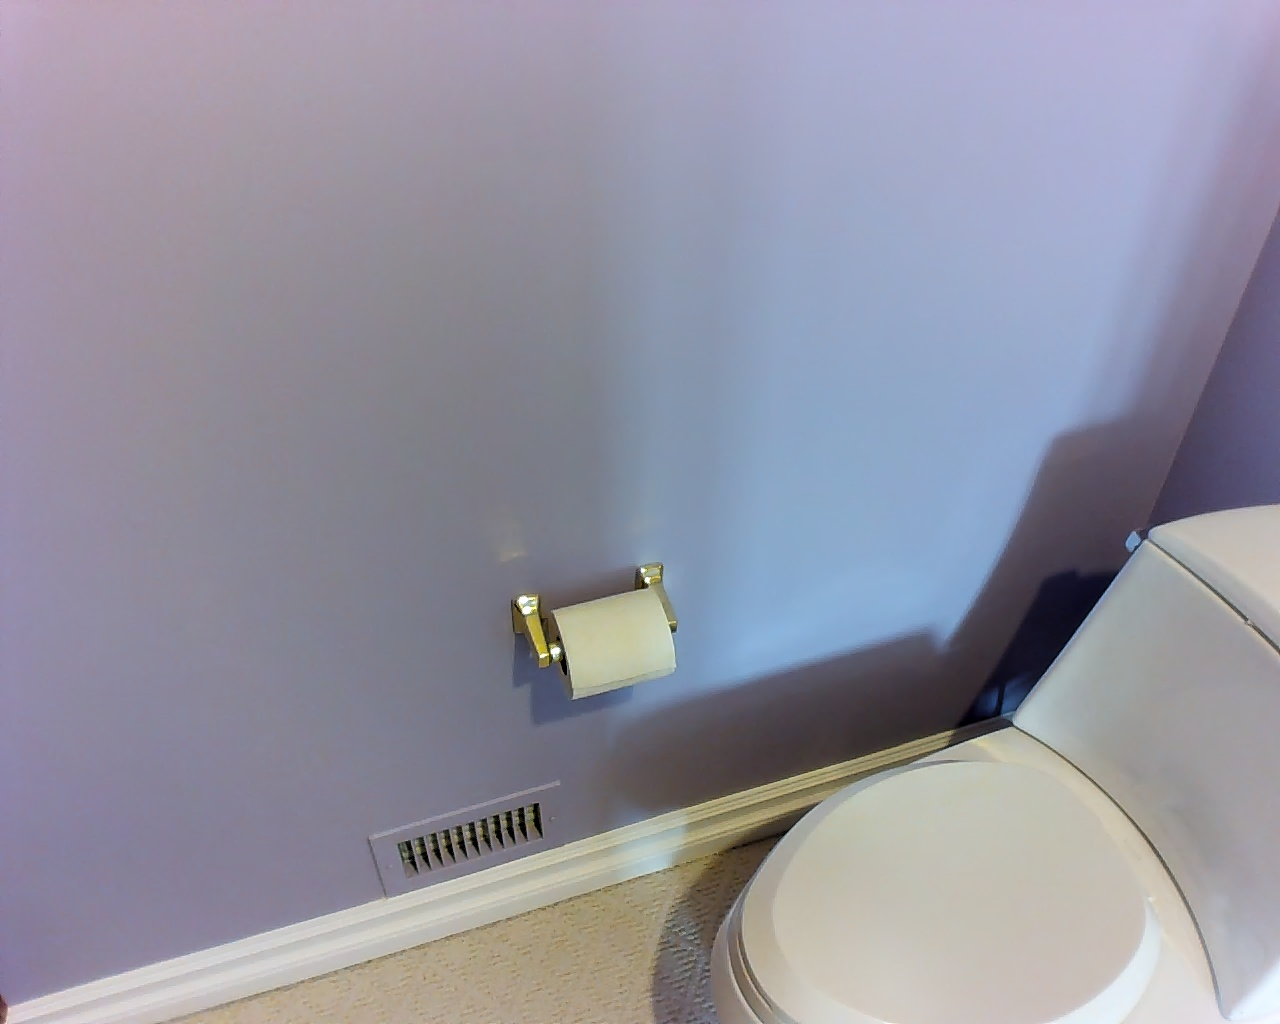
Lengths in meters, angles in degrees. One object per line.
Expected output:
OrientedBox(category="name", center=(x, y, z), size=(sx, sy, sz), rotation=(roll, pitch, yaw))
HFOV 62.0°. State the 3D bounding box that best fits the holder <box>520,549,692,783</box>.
OrientedBox(category="holder", center=(-0.040, 0.170, 1.180), size=(0.150, 0.190, 0.140), rotation=(-10, 41, -13))
